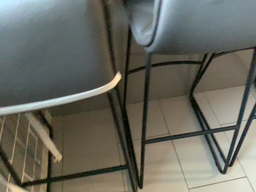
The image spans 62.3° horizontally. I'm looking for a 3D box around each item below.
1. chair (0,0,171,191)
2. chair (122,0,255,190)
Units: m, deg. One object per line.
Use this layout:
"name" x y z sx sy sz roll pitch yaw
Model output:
"chair" -0.190 0.040 0.730 0.400 1.030 0.560 -7 52 -4
"chair" 0.230 -0.070 0.810 0.430 1.010 0.500 -7 52 -4
